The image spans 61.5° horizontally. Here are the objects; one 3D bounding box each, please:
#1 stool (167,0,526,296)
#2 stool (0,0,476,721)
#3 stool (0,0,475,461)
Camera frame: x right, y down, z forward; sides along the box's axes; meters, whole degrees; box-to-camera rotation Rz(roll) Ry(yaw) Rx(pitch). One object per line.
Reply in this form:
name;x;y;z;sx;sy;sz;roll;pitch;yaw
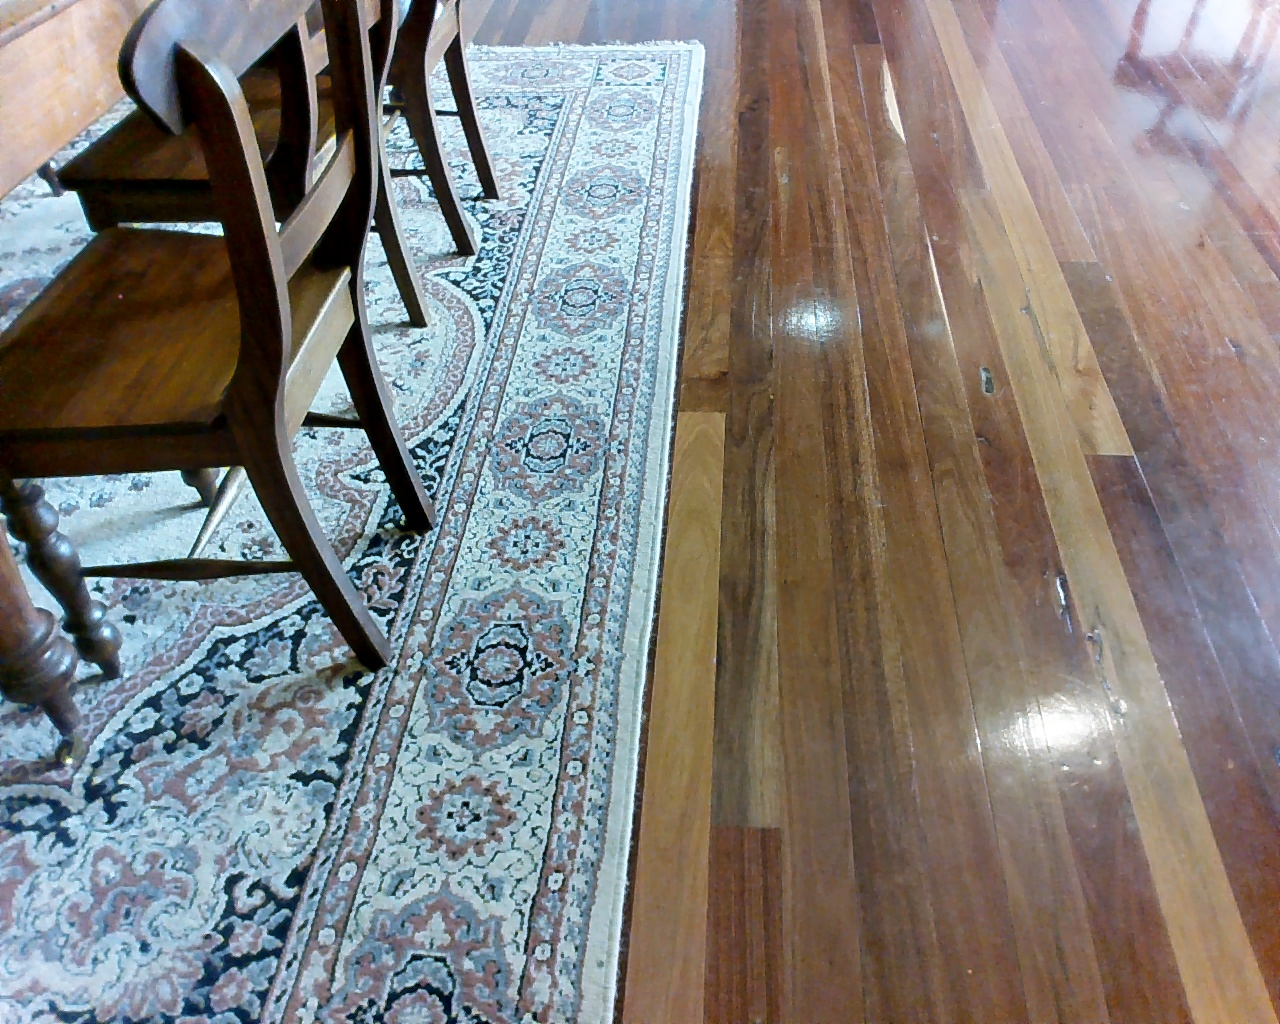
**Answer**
stool;-0.550;-0.930;2.110;0.470;0.850;0.490;3;43;6
stool;-0.520;-0.200;1.310;0.430;0.850;0.450;2;43;6
stool;-0.640;-0.570;1.730;0.530;0.840;0.480;3;43;6
